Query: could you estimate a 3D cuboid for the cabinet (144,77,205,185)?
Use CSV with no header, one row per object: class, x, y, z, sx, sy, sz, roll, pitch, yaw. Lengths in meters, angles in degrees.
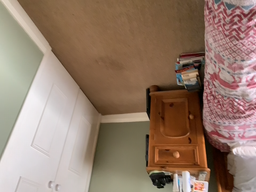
cabinet,0.430,0.330,1.990,0.440,0.830,0.510,-5,146,15
